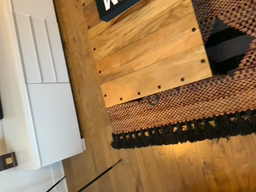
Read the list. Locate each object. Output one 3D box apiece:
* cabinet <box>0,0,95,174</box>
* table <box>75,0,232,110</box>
[{"bbox_3d":[-0.860,-0.320,1.850,0.520,0.500,1.800,-19,84,36],"label":"cabinet"},{"bbox_3d":[0.040,-0.640,1.250,0.650,0.360,1.300,-19,83,36],"label":"table"}]
